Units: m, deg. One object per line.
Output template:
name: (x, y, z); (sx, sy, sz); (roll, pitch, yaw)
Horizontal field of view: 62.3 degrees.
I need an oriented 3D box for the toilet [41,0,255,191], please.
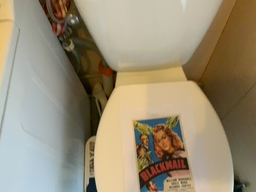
toilet: (0.090, 0.110, 0.730); (0.380, 0.860, 0.680); (-5, 64, 1)
